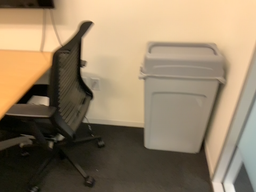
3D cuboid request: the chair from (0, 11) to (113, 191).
[{"bbox_3d":[-0.530,0.070,1.460,0.680,1.080,0.720,4,34,6],"label":"chair"}]
